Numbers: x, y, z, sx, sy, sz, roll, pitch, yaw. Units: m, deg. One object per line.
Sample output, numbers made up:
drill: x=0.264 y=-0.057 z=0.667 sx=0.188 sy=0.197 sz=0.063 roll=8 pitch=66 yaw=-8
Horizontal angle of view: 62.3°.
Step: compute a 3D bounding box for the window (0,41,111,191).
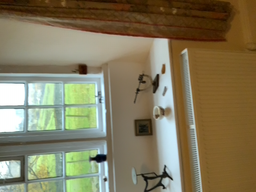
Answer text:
window: x=-0.590 y=0.220 z=1.460 sx=0.160 sy=0.910 sz=1.150 roll=155 pitch=114 yaw=-72
